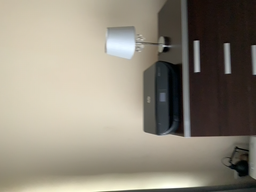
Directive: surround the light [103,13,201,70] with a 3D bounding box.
[{"bbox_3d":[0.150,-0.350,1.470,0.290,0.610,0.260,160,111,-78],"label":"light"}]
